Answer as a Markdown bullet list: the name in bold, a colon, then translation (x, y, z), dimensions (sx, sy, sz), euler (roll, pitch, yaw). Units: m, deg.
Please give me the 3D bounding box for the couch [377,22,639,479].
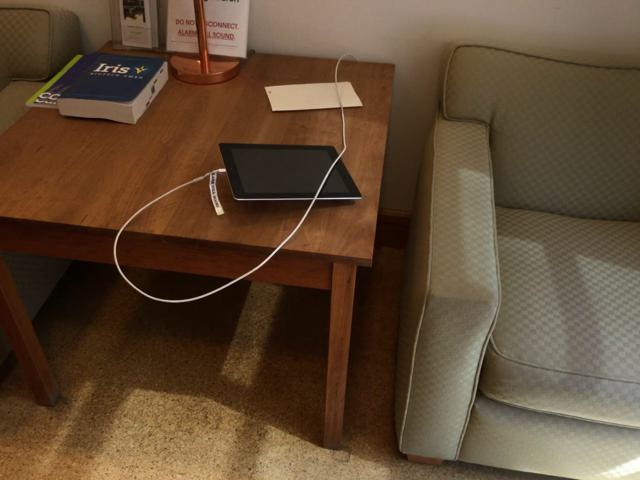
- **couch**: translation (0.670, 0.060, 1.360), dimensions (0.930, 0.780, 0.840), euler (8, 37, 4)
